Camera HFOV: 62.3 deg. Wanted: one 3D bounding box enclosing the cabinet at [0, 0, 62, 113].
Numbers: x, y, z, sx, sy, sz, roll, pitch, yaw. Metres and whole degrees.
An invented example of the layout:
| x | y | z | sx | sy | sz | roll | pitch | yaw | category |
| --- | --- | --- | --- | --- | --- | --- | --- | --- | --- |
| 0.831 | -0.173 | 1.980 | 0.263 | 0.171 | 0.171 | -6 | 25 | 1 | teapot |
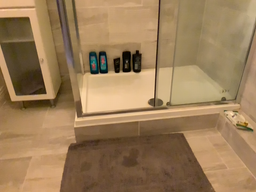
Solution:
| x | y | z | sx | sy | sz | roll | pitch | yaw | category |
| --- | --- | --- | --- | --- | --- | --- | --- | --- | --- |
| -0.830 | -0.430 | 1.700 | 0.360 | 1.100 | 0.350 | -4 | 31 | -6 | cabinet |
